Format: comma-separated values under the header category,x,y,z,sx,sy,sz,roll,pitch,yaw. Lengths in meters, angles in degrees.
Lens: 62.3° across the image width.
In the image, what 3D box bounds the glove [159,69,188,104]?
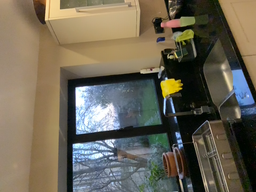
category,x,y,z,sx,sy,sz,roll,pitch,yaw
glove,0.390,-0.080,1.850,0.230,0.170,0.200,88,175,-65

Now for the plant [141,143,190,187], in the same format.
category,x,y,z,sx,sy,sz,roll,pitch,yaw
plant,0.270,0.530,1.620,0.220,0.300,0.260,88,175,-65

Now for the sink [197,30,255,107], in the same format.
category,x,y,z,sx,sy,sz,roll,pitch,yaw
sink,0.700,-0.180,1.510,0.390,0.210,0.370,88,175,-64

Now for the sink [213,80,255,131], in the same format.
category,x,y,z,sx,sy,sz,roll,pitch,yaw
sink,0.740,0.070,1.380,0.320,0.210,0.200,88,175,-64
